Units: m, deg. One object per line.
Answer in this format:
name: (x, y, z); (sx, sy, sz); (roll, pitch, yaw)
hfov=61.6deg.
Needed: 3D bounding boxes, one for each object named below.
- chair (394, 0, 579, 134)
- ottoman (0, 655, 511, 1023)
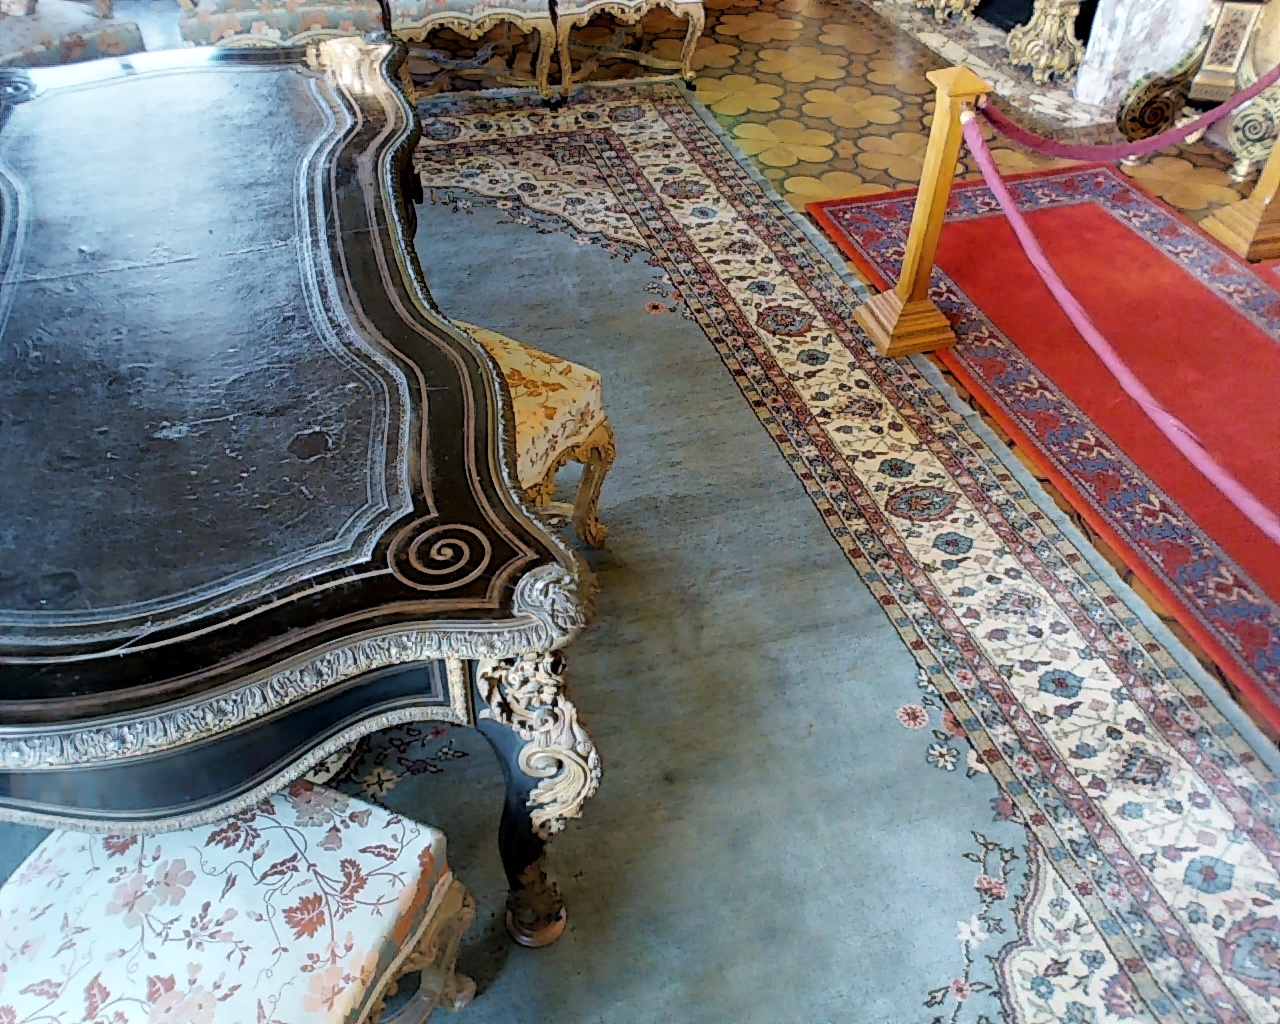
chair: (-0.630, -2.171, 4.090); (0.590, 1.130, 0.730); (-12, 43, -13)
ottoman: (-0.570, 0.670, 1.440); (0.530, 0.540, 0.640); (14, 44, 15)
